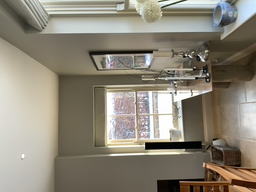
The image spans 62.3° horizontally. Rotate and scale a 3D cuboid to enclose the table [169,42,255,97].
[{"bbox_3d":[1.200,-0.300,3.240,1.730,0.730,0.510,123,146,-86],"label":"table"}]
